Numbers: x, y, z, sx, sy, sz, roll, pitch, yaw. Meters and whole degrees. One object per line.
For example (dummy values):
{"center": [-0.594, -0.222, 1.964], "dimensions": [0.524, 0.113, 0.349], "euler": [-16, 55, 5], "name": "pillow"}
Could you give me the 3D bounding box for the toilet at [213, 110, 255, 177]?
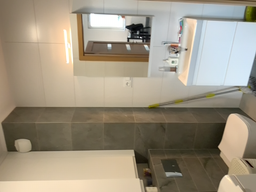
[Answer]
{"center": [1.180, 0.450, 2.070], "dimensions": [0.370, 0.450, 0.510], "euler": [-103, 15, -67], "name": "toilet"}
